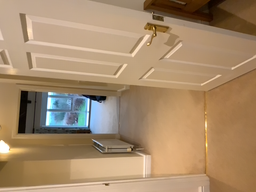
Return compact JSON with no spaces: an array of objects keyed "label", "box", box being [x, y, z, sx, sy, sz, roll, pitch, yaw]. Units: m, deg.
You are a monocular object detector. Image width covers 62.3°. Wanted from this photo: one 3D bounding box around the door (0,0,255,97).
[{"label":"door","box":[-0.030,-0.230,1.440,1.080,2.070,0.110,149,123,-65]}]
